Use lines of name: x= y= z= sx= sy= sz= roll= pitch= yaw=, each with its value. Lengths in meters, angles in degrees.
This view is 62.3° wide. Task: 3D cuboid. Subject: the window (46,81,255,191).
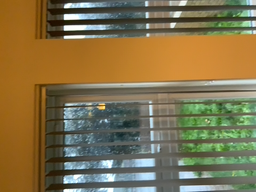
window: x=0.320 y=0.320 z=1.470 sx=0.080 sy=1.720 sz=0.830 roll=97 pitch=172 yaw=-82
